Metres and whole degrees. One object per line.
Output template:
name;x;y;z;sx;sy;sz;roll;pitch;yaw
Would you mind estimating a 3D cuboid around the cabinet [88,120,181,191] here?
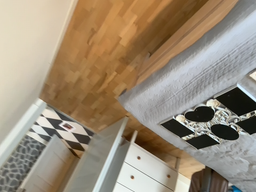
cabinet;0.100;0.930;2.540;0.780;0.920;0.450;35;143;-14
